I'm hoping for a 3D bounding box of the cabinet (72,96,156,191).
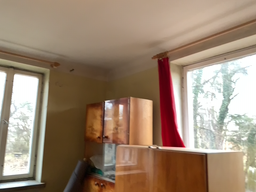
[{"bbox_3d":[-0.210,0.810,2.590,0.450,1.470,1.060,9,-13,-41],"label":"cabinet"}]
